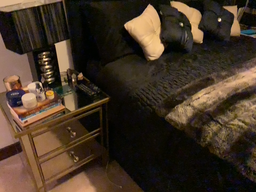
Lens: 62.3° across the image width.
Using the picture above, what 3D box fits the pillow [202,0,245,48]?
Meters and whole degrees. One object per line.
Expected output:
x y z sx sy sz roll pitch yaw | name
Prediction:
0.750 -0.570 1.660 0.300 0.240 0.100 -53 33 -10 | pillow

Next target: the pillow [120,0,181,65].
0.130 -0.400 1.310 0.360 0.090 0.300 -48 0 -21 | pillow
